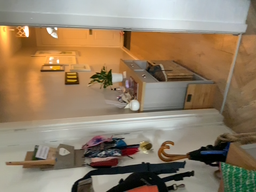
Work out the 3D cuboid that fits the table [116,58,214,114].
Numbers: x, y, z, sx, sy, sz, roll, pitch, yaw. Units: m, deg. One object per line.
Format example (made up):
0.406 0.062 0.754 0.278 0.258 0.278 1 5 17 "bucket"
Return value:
0.340 -0.200 2.640 1.220 0.740 0.310 -128 38 -64 "table"
